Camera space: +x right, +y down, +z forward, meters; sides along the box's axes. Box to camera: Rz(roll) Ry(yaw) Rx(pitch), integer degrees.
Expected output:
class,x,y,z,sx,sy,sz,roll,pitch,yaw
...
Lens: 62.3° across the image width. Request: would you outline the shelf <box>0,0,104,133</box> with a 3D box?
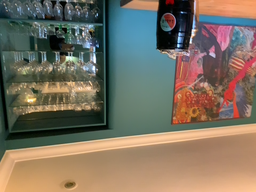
class,x,y,z,sx,sy,sz,roll,pitch,yaw
shelf,-0.760,-0.790,2.210,0.940,2.240,0.460,-3,-165,-17
